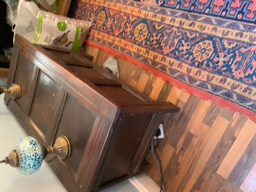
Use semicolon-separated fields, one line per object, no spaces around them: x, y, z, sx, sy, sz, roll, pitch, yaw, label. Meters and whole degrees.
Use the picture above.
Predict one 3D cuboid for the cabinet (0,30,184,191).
-0.310;0.040;1.390;1.060;0.580;0.510;33;109;35;cabinet
